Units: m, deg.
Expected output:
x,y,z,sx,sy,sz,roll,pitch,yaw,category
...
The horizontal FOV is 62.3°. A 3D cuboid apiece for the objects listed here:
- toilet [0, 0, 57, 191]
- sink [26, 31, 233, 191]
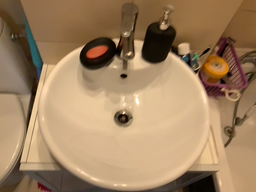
x,y,z,sx,sy,sz,roll,pitch,yaw,category
-0.640,0.100,0.960,0.390,0.740,0.700,2,59,-6,toilet
0.000,0.040,0.640,0.450,0.160,0.450,2,59,-6,sink
